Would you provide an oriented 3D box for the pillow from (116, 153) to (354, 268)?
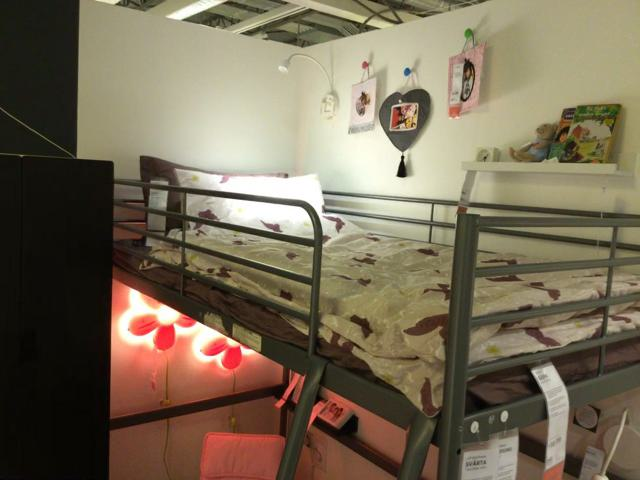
[{"bbox_3d":[-0.380,-0.130,2.540,0.780,0.400,0.650,2,7,-38],"label":"pillow"}]
